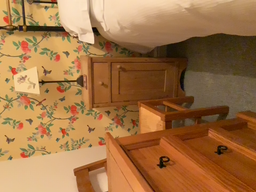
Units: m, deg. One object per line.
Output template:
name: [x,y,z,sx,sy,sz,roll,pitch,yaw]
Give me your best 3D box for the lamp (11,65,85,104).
lamp: [-0.580,-0.100,1.580,0.210,0.470,0.230,-149,57,-66]
